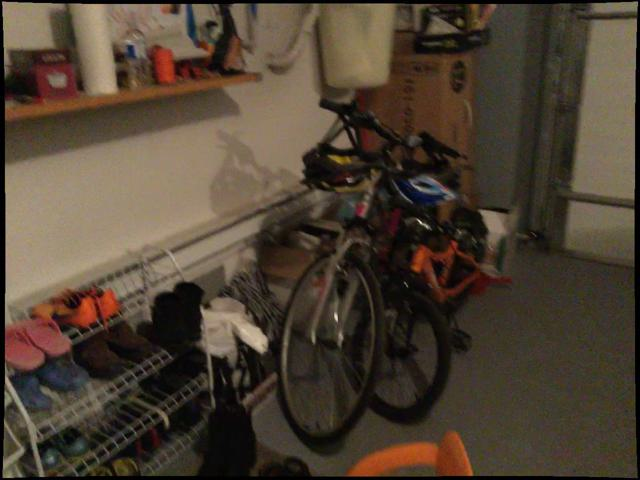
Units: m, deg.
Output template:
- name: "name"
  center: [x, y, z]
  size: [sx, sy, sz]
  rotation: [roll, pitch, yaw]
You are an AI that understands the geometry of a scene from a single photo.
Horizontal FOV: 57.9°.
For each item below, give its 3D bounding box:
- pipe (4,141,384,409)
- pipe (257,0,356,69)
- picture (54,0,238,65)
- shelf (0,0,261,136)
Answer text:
- name: "pipe"
  center: [-0.280, -0.030, 2.520]
  size: [0.170, 0.330, 2.110]
  rotation: [14, 28, 30]
- name: "pipe"
  center: [-0.050, -1.171, 2.570]
  size: [0.190, 0.721, 0.520]
  rotation: [14, 28, 30]
- name: "picture"
  center: [-0.549, -0.801, 1.920]
  size: [0.140, 0.340, 0.650]
  rotation: [14, 28, 30]
- name: "shelf"
  center: [-0.669, -0.561, 1.670]
  size: [0.310, 0.320, 1.190]
  rotation: [14, 28, 30]
